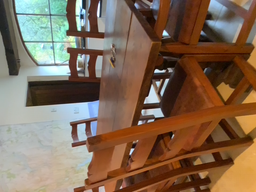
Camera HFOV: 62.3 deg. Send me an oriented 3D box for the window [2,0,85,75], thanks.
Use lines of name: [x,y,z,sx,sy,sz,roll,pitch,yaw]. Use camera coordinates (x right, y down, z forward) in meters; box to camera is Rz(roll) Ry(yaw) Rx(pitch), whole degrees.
window: [-1.510,-1.440,3.960,0.100,1.360,2.350,-115,27,-48]
